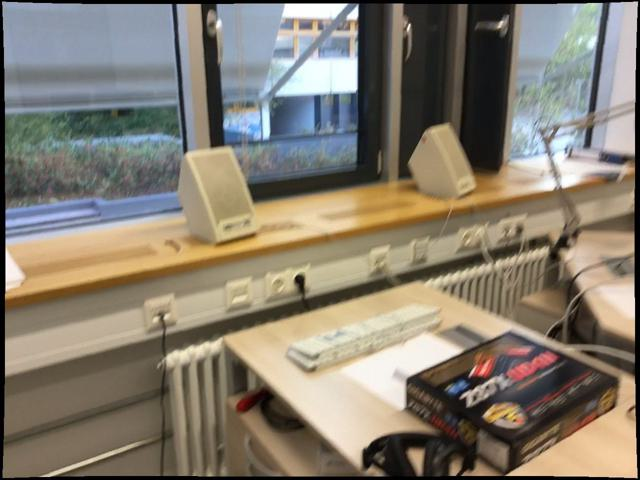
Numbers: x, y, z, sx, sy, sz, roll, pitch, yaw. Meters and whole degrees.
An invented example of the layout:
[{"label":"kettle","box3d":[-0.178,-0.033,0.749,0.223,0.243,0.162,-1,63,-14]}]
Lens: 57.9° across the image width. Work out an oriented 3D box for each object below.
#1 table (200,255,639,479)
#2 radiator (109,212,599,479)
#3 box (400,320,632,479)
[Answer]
[{"label":"table","box3d":[0.250,0.390,1.430,0.750,0.310,0.900,-13,23,-33]},{"label":"radiator","box3d":[0.300,0.420,2.130,1.959,0.691,0.270,-13,23,-33]},{"label":"box","box3d":[0.400,0.310,1.200,0.350,0.090,0.300,-13,23,-33]}]
